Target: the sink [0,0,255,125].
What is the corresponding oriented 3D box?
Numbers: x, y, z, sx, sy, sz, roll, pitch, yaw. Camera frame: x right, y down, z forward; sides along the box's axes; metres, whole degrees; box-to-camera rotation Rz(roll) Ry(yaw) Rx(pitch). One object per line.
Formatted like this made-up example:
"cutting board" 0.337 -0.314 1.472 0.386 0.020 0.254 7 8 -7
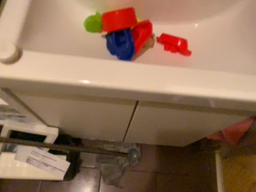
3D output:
"sink" 0.050 -0.170 0.500 0.610 0.170 0.390 6 69 -2
